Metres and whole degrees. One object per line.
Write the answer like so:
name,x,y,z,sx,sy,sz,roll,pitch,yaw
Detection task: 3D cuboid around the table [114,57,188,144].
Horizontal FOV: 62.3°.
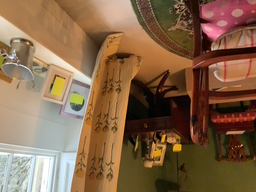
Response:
table,0.340,0.150,2.630,0.610,0.740,1.070,-7,160,20
